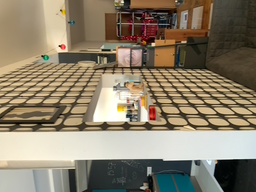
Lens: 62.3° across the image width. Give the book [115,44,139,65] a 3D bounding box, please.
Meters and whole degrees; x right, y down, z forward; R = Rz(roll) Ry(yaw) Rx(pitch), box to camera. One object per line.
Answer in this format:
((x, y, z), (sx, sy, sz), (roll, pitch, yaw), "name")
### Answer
((-0.020, -0.470, 2.360), (0.360, 0.250, 0.210), (-100, 10, -74), "book")
